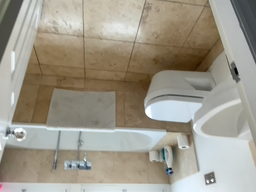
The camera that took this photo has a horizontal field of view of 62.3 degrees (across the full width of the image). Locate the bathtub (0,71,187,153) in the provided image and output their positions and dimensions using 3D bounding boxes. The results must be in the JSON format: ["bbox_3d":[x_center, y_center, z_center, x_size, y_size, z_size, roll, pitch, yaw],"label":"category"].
[{"bbox_3d":[-0.540,0.230,2.350,2.120,0.560,0.740,4,150,-8],"label":"bathtub"}]
